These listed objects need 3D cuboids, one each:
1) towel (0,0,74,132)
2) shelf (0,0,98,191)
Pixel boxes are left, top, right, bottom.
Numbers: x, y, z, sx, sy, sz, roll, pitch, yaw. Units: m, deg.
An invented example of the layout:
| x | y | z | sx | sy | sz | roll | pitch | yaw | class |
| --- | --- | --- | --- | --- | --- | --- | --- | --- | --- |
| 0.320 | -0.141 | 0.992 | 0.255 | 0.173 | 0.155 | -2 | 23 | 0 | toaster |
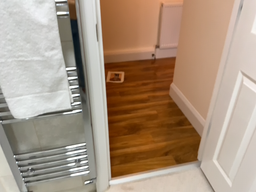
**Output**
| x | y | z | sx | sy | sz | roll | pitch | yaw | class |
| --- | --- | --- | --- | --- | --- | --- | --- | --- | --- |
| -0.340 | -0.150 | 0.750 | 0.220 | 0.560 | 0.120 | -6 | 29 | -11 | towel |
| -0.370 | 0.110 | 0.980 | 0.380 | 1.290 | 0.060 | -7 | 33 | -11 | shelf |
